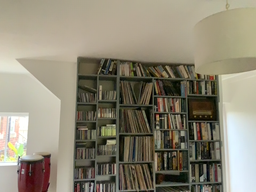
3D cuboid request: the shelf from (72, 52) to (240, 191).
[{"bbox_3d":[0.380,0.730,2.890,2.170,2.500,0.380,1,-7,-9],"label":"shelf"}]
